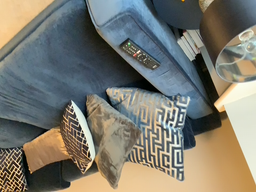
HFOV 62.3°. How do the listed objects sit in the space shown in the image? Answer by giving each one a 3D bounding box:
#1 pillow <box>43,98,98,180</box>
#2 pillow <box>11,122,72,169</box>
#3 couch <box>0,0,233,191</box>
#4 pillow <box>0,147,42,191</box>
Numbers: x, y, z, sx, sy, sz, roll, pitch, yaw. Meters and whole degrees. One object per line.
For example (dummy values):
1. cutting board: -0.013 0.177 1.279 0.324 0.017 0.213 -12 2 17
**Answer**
1. pillow: -0.360 0.270 1.380 0.150 0.360 0.350 28 118 -18
2. pillow: -0.710 0.420 1.750 0.460 0.220 0.200 -25 141 25
3. couch: -0.770 0.300 1.700 2.620 0.760 1.140 -25 141 25
4. pillow: -1.060 0.630 1.860 0.460 0.310 0.200 2 114 -1
